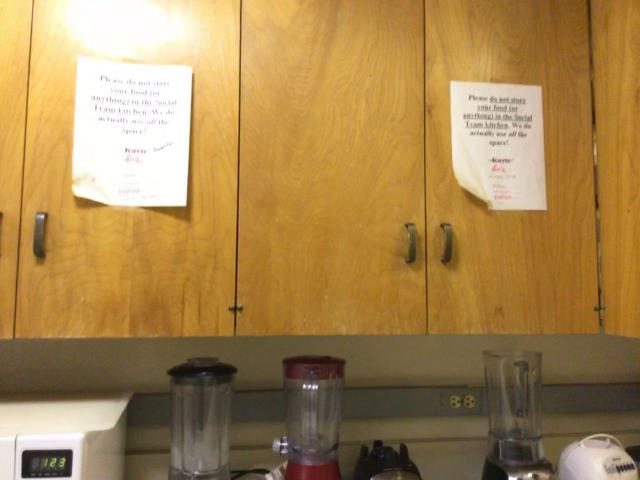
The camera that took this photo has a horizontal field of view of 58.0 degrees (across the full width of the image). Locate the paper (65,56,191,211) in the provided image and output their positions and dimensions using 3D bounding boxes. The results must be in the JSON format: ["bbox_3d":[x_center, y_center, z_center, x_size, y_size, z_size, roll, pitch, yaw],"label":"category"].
[{"bbox_3d":[-0.360,-0.200,1.100,0.210,0.280,0.040,2,-7,-9],"label":"paper"}]

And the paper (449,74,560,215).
[{"bbox_3d":[0.390,-0.200,1.230,0.220,0.280,0.050,2,-7,-9],"label":"paper"}]
